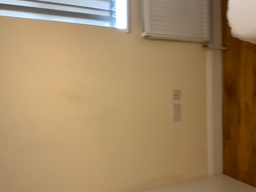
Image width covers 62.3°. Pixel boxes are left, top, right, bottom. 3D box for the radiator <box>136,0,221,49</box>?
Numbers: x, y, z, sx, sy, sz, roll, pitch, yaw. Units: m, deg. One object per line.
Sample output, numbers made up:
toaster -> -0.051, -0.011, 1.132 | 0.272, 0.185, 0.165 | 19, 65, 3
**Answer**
radiator -> 0.420, -1.010, 1.680 | 0.070, 0.760, 1.210 | -178, 87, -67
